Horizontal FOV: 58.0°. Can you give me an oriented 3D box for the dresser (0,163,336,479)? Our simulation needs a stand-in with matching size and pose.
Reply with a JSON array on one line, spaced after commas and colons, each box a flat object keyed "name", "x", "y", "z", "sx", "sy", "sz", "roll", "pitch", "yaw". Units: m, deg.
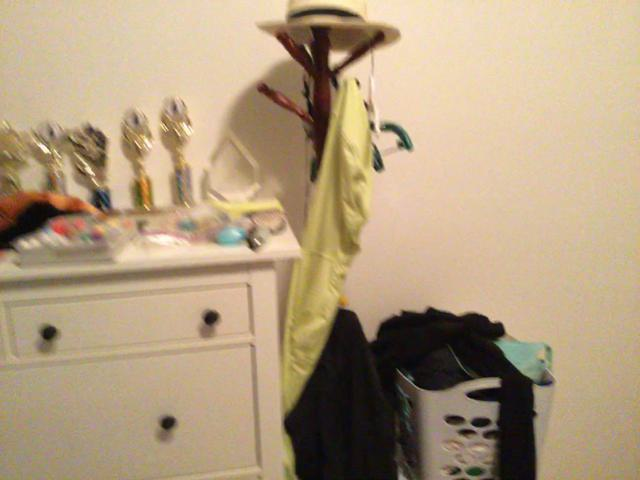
[{"name": "dresser", "x": -0.590, "y": 0.610, "z": 1.380, "sx": 1.210, "sy": 1.410, "sz": 0.540, "roll": -8, "pitch": 11, "yaw": -6}]
